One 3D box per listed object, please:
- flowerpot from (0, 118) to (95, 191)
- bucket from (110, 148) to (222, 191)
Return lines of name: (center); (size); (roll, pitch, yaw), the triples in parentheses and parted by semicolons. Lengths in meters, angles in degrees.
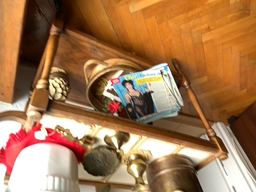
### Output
flowerpot: (-0.240, 0.240, 0.590); (0.240, 0.250, 0.180); (17, 128, -25)
bucket: (0.130, 0.360, 0.750); (0.270, 0.170, 0.280); (22, 126, -28)
